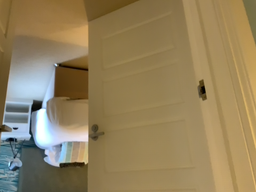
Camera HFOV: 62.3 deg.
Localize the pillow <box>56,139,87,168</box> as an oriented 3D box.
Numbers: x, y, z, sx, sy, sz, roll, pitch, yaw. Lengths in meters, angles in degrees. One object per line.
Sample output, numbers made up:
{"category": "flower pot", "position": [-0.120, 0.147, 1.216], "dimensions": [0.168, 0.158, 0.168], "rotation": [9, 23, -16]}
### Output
{"category": "pillow", "position": [-0.890, 0.900, 3.350], "dimensions": [0.420, 0.400, 0.150], "rotation": [6, -177, -28]}
